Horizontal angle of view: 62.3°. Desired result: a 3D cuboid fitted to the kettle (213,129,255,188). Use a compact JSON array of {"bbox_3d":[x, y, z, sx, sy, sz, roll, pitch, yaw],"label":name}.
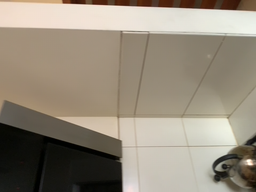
[{"bbox_3d":[0.550,0.290,0.990,0.140,0.200,0.230,98,171,-56],"label":"kettle"}]
